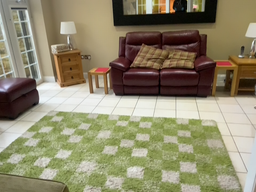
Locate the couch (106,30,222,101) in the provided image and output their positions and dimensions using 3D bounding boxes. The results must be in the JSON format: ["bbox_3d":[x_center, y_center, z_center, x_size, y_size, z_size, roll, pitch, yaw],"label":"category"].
[{"bbox_3d":[0.600,-0.600,3.760,1.690,0.980,1.030,3,22,11],"label":"couch"}]

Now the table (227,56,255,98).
[{"bbox_3d":[2.030,-0.330,3.530,0.500,0.560,0.580,3,22,11],"label":"table"}]

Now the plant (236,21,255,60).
[{"bbox_3d":[2.120,-0.930,3.530,0.390,0.570,0.480,3,22,12],"label":"plant"}]
